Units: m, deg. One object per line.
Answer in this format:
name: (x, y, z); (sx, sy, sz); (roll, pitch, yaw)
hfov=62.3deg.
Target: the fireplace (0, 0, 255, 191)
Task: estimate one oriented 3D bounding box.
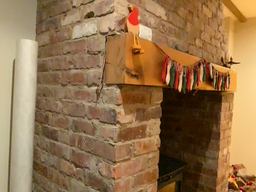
fireplace: (0.320, 0.540, 1.750); (1.040, 1.650, 2.240); (4, 2, 42)
